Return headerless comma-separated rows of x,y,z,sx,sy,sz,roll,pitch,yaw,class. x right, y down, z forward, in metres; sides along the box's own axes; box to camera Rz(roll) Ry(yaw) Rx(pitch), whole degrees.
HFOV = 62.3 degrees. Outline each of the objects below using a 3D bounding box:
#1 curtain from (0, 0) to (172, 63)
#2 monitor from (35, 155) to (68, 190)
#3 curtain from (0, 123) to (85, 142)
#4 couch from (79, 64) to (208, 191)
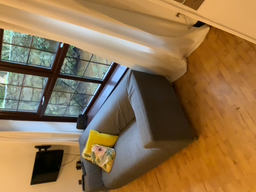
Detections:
-0.330,-0.640,1.940,0.420,1.570,0.140,-50,45,42,curtain
-1.300,1.300,3.620,0.030,0.430,0.640,36,114,55,monitor
-1.590,0.550,3.150,0.240,1.900,0.180,-49,45,43,curtain
0.010,0.580,2.870,1.790,0.680,0.950,-51,44,42,couch
